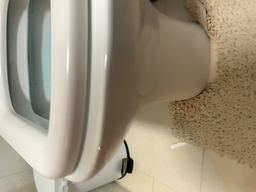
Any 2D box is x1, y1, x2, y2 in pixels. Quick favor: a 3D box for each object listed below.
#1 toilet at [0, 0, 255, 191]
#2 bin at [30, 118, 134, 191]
[{"bbox_3d":[-0.240,-0.100,0.430,0.630,0.810,0.410,9,100,47],"label":"toilet"},{"bbox_3d":[-0.170,0.210,0.780,0.230,0.290,0.170,15,104,47],"label":"bin"}]
